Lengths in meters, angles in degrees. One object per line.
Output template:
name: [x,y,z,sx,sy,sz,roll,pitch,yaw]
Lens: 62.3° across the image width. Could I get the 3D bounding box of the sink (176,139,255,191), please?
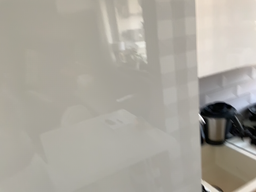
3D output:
sink: [0.580,0.460,1.160,0.440,0.160,0.420,-15,18,-23]
